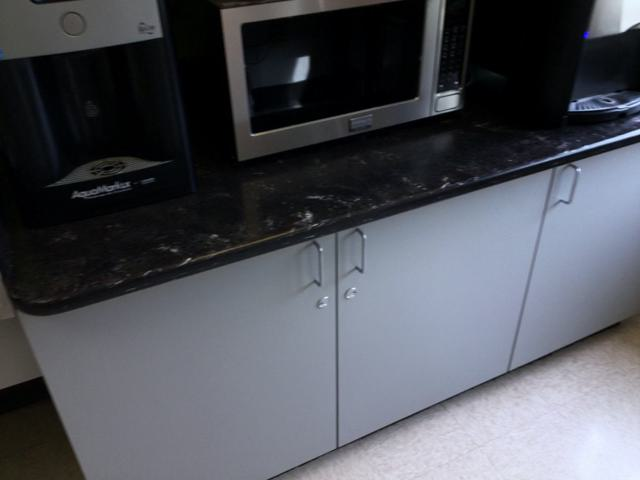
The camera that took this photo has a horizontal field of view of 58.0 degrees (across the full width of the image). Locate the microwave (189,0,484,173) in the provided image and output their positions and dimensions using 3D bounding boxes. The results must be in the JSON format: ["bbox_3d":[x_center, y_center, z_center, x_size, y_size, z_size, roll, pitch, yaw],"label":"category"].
[{"bbox_3d":[0.060,-0.390,1.250,0.630,0.350,0.100,-16,35,-21],"label":"microwave"}]
